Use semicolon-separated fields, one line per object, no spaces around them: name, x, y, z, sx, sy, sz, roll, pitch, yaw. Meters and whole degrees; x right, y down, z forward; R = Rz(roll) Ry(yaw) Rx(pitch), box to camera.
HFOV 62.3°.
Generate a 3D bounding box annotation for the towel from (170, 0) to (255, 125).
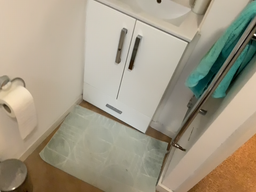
towel;0.390;-0.150;0.930;0.150;0.550;0.260;29;48;11
